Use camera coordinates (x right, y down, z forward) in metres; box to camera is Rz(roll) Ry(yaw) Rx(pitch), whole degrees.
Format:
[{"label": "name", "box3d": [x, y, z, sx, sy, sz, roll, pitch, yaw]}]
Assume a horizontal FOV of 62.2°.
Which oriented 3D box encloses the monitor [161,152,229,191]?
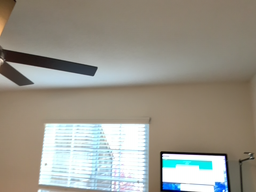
[{"label": "monitor", "box3d": [0.640, 0.830, 2.070, 0.620, 0.490, 0.040, 2, -7, 15]}]
